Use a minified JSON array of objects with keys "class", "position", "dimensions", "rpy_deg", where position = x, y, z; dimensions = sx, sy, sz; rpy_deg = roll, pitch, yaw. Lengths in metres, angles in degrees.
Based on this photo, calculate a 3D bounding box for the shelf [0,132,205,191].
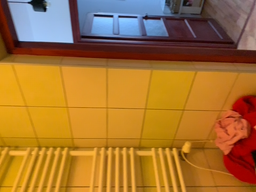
[{"class":"shelf","position":[-0.210,0.500,1.020],"dimensions":[0.730,1.170,0.100],"rpy_deg":[-93,6,-50]}]
